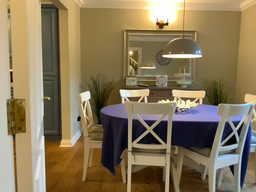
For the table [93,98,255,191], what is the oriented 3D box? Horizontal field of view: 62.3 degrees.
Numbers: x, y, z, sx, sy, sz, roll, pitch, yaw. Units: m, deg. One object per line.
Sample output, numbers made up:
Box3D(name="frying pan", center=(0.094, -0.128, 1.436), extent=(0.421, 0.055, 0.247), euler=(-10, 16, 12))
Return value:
Box3D(name="table", center=(0.440, 0.470, 2.390), extent=(1.530, 0.740, 1.100), euler=(0, 7, -3))
